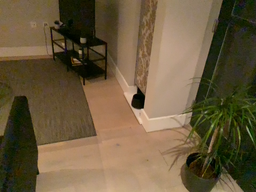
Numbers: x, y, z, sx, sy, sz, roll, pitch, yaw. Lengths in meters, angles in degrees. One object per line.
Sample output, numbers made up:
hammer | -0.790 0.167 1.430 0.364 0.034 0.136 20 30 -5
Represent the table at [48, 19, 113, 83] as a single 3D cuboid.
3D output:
table | -0.730 -0.720 3.160 0.470 0.590 1.000 -21 40 -35
